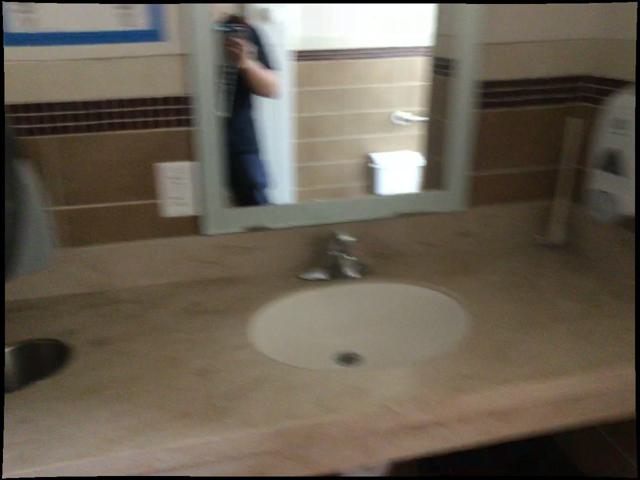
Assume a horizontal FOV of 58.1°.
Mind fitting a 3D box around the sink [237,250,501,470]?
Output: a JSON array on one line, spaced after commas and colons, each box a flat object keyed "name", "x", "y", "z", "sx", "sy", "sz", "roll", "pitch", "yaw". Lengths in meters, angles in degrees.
[{"name": "sink", "x": 0.070, "y": 0.211, "z": 1.170, "sx": 0.429, "sy": 0.200, "sz": 0.380, "roll": -7, "pitch": 23, "yaw": -10}]
